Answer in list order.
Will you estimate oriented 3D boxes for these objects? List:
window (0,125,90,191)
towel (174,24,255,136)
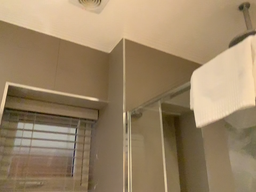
[{"bbox_3d":[-0.470,0.620,1.120,0.480,0.880,0.070,11,-24,-26],"label":"window"},{"bbox_3d":[0.290,-0.020,0.600,0.190,0.210,0.230,12,-24,-28],"label":"towel"}]
